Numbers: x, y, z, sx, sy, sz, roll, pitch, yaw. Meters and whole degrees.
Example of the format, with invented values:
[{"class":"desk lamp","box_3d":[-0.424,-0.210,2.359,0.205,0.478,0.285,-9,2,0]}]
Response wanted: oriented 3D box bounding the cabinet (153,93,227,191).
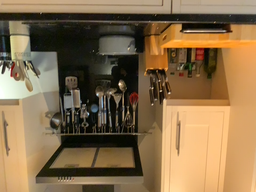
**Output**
[{"class":"cabinet","box_3d":[0.410,0.410,1.530,0.400,0.830,0.320,0,-171,-2]}]
